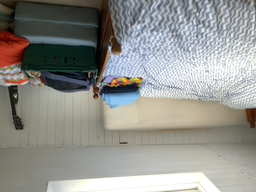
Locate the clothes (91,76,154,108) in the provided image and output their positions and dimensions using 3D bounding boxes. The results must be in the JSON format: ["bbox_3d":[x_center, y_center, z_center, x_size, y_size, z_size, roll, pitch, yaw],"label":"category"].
[{"bbox_3d":[-0.090,-0.020,2.140,0.520,0.190,0.570,1,168,-13],"label":"clothes"}]
